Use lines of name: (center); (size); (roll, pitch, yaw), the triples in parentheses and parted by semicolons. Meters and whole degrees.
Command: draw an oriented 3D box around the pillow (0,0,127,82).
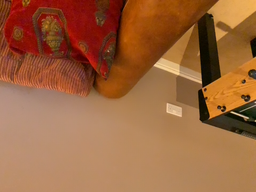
pillow: (-0.310, -0.310, 0.970); (0.490, 0.360, 0.160); (-17, 165, -31)
